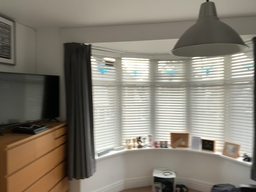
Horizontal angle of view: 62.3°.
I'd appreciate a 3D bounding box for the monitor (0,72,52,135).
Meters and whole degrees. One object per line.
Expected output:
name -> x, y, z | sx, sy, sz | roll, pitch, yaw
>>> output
monitor -> -1.200, 0.060, 2.510 | 0.060, 0.620, 0.900 | 1, 2, 14
